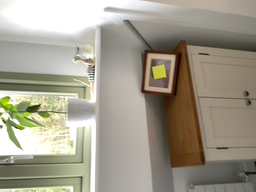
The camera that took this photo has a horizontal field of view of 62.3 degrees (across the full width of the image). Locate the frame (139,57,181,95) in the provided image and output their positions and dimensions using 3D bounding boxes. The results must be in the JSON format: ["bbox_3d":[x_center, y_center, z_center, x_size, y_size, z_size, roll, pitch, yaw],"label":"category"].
[{"bbox_3d":[0.190,-0.130,1.320,0.210,0.170,0.210,-140,54,-74],"label":"frame"}]
